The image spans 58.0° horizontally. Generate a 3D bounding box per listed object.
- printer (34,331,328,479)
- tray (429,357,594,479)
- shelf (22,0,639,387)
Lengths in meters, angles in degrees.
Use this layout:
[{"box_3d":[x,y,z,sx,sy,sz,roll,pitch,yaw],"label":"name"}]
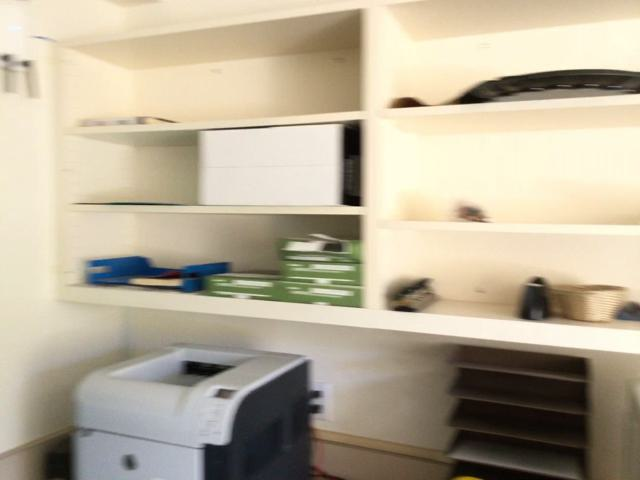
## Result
[{"box_3d":[-0.320,0.500,1.440,0.510,0.410,0.490,3,2,25],"label":"printer"},{"box_3d":[0.460,0.510,1.390,0.340,0.370,0.220,3,2,25],"label":"tray"},{"box_3d":[0.190,-0.180,1.390,2.030,0.810,0.440,3,2,25],"label":"shelf"}]
